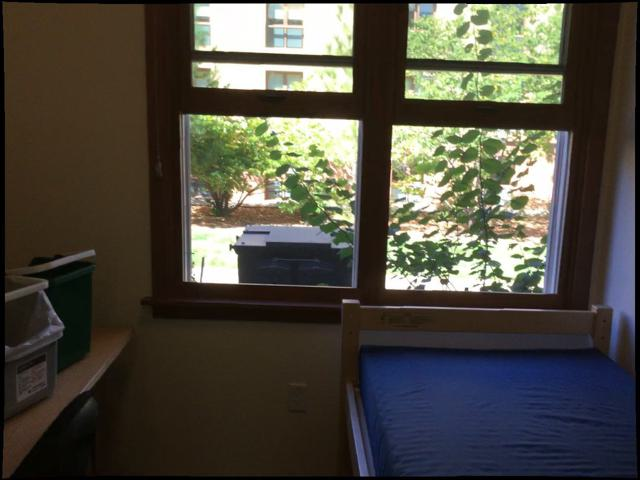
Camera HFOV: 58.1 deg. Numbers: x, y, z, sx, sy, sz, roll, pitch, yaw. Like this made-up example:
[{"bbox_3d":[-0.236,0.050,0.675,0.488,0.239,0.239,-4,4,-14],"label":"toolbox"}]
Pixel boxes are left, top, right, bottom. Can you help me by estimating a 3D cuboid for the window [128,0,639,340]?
[{"bbox_3d":[0.209,-0.321,2.290,1.835,1.313,0.270,3,12,0],"label":"window"}]
